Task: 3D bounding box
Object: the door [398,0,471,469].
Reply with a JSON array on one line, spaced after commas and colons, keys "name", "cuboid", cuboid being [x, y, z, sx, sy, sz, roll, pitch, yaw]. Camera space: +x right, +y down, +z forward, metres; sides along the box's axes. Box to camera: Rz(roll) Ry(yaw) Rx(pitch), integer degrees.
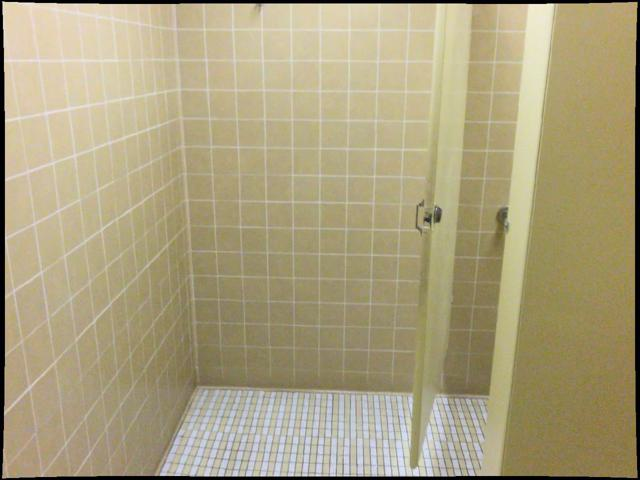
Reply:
[{"name": "door", "cuboid": [0.389, -0.170, 1.890, 0.090, 1.514, 0.860, 4, 19, 16]}]
